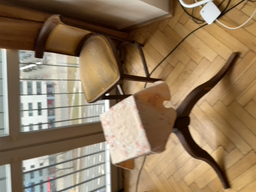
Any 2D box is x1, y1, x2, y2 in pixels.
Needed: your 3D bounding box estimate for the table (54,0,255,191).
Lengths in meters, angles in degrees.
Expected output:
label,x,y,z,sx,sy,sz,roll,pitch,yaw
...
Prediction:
label,x,y,z,sx,sy,sz,roll,pitch,yaw
table,0.190,0.190,1.250,0.930,0.710,0.920,-30,71,41
